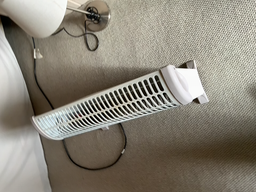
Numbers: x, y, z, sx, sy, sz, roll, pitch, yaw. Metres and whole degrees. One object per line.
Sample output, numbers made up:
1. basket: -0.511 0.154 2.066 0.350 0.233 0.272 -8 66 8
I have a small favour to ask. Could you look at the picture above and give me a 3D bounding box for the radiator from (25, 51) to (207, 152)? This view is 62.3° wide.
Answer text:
1. radiator: -0.030 0.030 0.790 0.550 0.380 0.140 -21 85 28
